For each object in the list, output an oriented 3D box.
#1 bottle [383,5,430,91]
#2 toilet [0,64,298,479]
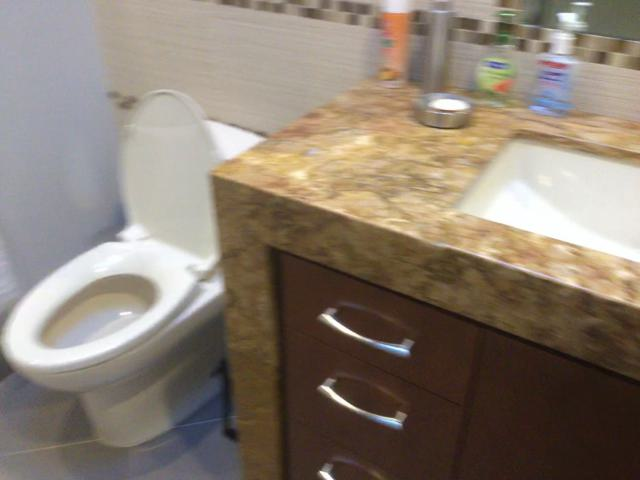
[{"bbox_3d":[0.170,-0.380,1.140,0.050,0.140,0.090,17,36,23],"label":"bottle"},{"bbox_3d":[-0.430,0.090,1.420,0.450,0.800,0.710,17,36,23],"label":"toilet"}]
